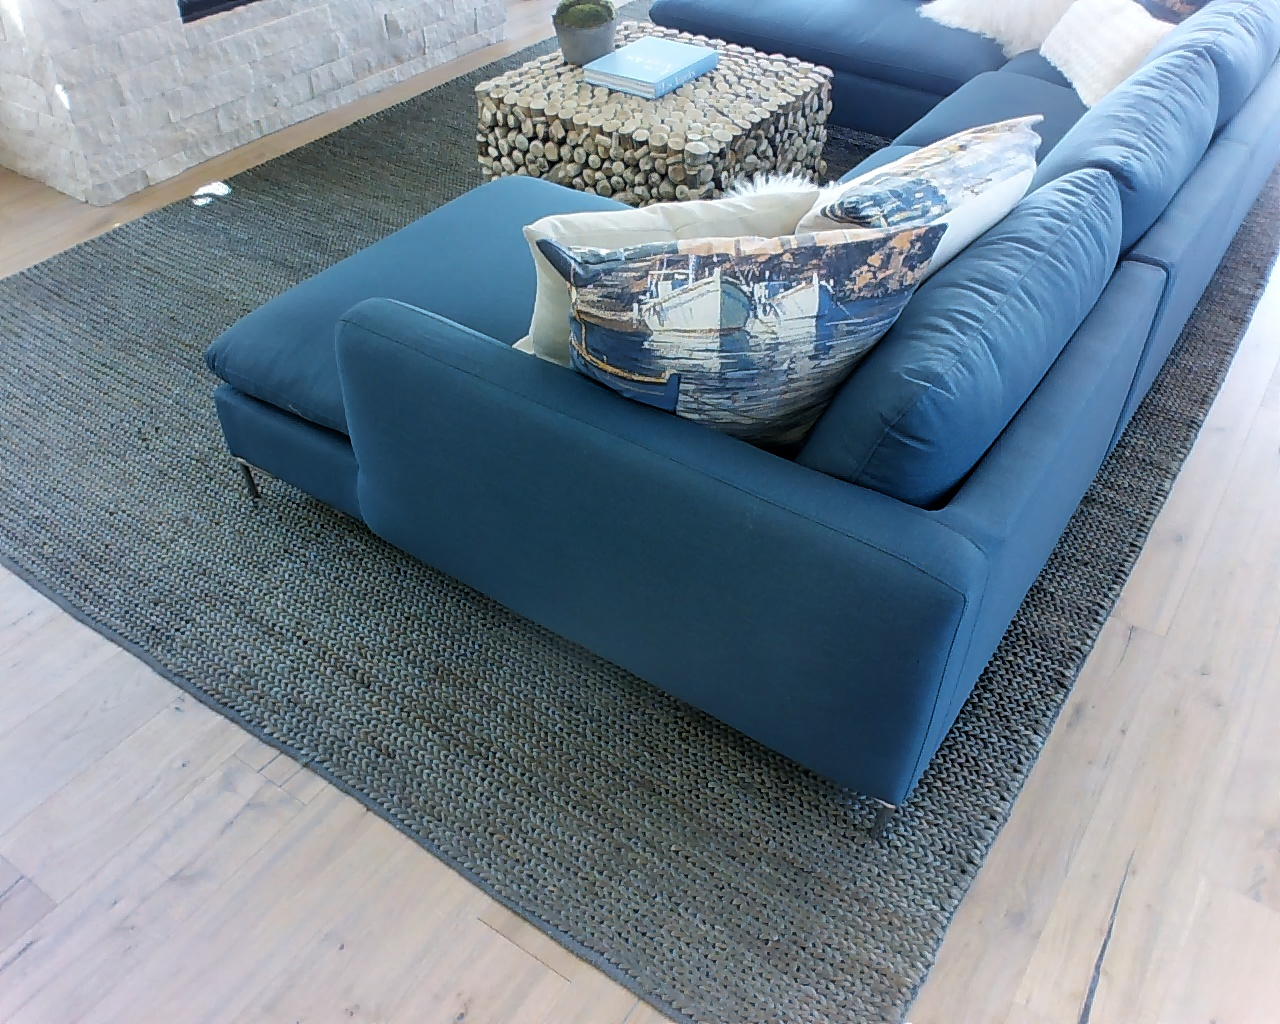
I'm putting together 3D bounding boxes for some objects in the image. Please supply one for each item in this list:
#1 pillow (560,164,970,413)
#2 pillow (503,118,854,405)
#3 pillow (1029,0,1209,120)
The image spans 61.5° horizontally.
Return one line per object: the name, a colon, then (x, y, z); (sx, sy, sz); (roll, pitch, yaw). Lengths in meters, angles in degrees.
pillow: (0.160, -0.330, 1.570); (0.530, 0.250, 0.230); (-4, 42, -6)
pillow: (0.050, -0.450, 1.910); (0.530, 0.350, 0.310); (-7, 42, -9)
pillow: (1.370, -1.390, 3.130); (0.250, 0.270, 0.570); (0, 42, -1)
